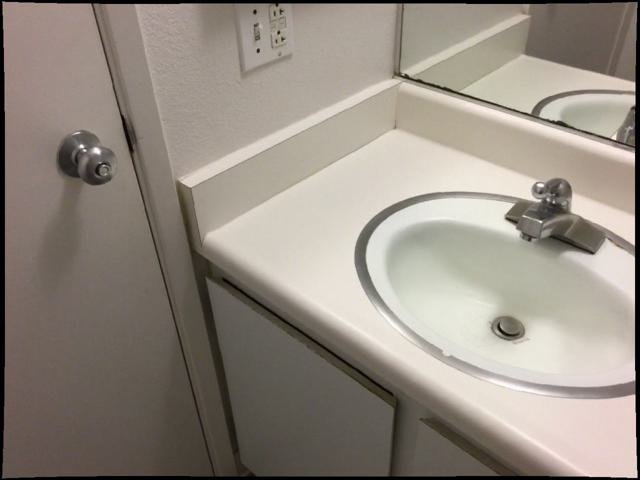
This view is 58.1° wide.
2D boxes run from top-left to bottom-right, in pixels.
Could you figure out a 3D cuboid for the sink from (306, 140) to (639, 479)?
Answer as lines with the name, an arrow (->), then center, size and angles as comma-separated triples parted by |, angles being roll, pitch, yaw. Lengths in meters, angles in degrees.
sink -> 0.279, 0.090, 0.930 | 0.510, 0.260, 0.320 | 28, 48, 35
